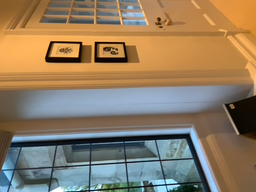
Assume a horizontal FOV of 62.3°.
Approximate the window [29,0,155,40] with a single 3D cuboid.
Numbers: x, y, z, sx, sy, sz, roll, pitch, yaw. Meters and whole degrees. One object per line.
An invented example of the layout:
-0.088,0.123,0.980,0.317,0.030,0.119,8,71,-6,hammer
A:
-0.360,-0.850,2.280,0.790,1.140,0.120,-100,11,-47,window
